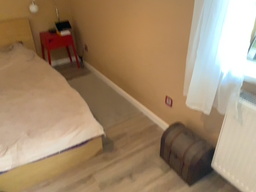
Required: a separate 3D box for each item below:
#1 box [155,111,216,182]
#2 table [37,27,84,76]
[{"bbox_3d":[0.440,0.390,1.720,0.250,0.340,0.380,-16,35,-23],"label":"box"},{"bbox_3d":[-1.030,-0.700,3.290,0.490,0.570,0.400,-22,38,-30],"label":"table"}]
